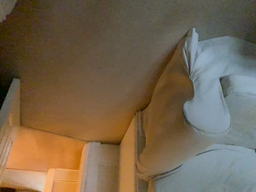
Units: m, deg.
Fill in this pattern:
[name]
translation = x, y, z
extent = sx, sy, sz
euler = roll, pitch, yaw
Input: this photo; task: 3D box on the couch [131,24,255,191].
[couch]
translation = 0.870, 0.320, 1.450
extent = 1.480, 0.840, 0.970
euler = 8, 146, -12
